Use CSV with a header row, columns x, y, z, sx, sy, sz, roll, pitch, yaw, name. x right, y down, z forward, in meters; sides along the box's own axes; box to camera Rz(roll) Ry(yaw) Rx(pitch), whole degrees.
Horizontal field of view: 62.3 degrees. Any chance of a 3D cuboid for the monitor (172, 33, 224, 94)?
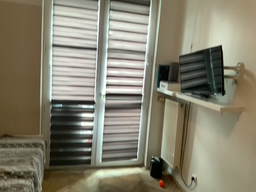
x,y,z,sx,sy,sz,roll,pitch,yaw,name
0.700,-0.300,2.250,0.090,0.530,0.830,-2,3,-14,monitor
